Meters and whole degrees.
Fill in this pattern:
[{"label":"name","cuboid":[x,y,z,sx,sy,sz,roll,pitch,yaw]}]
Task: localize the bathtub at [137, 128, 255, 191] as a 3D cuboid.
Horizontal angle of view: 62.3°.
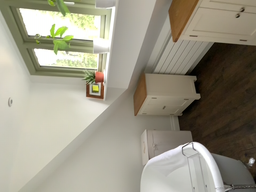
[{"label":"bathtub","cuboid":[0.610,0.920,2.010,1.510,0.720,0.740,109,161,-60]}]
